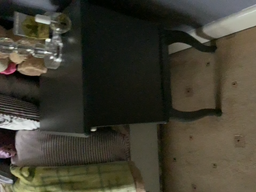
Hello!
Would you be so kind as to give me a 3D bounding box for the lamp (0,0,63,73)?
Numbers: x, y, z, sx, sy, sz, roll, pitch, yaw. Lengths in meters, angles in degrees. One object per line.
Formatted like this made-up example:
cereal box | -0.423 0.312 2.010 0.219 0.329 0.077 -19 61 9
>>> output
lamp | -0.460 -0.210 0.620 0.240 0.460 0.200 -7 83 51
